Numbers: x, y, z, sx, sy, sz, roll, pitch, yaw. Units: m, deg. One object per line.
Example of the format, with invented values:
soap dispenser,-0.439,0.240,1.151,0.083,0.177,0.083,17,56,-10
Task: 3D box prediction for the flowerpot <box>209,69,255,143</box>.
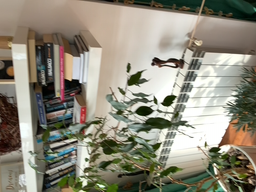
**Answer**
flowerpot,0.840,0.060,1.430,0.230,0.360,0.420,-121,36,-51
